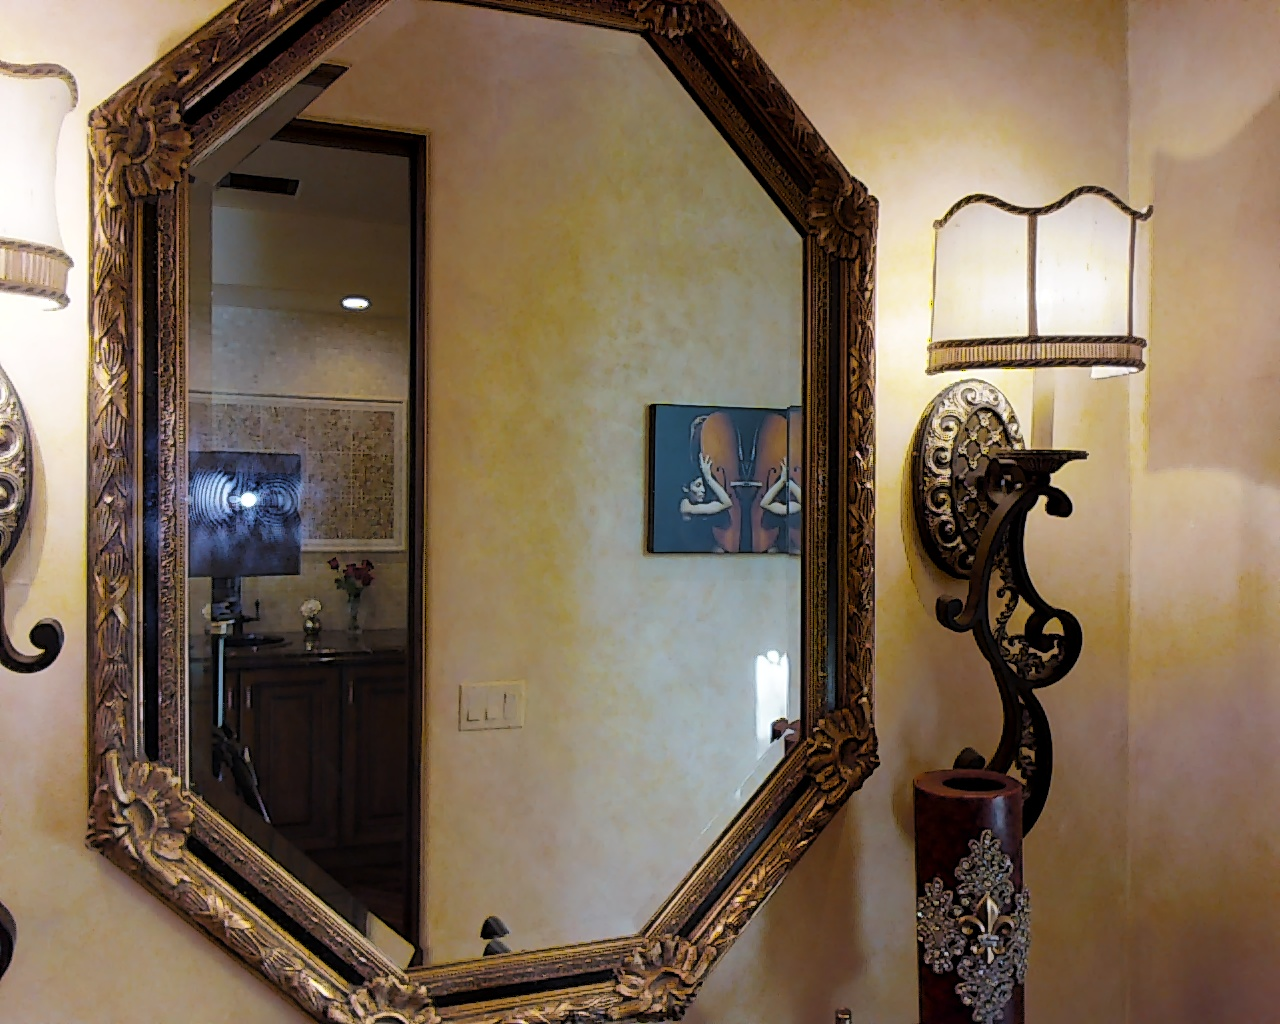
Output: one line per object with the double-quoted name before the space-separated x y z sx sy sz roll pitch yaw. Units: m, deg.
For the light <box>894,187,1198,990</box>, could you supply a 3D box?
"light" 0.410 0.070 1.090 0.250 0.730 0.150 1 0 -21
